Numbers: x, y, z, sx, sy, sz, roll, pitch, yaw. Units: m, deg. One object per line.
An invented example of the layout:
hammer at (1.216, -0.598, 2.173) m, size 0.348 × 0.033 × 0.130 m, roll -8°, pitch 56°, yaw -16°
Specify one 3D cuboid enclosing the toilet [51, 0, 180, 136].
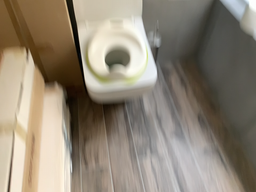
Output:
toilet at (-0.090, -0.270, 1.080) m, size 0.380 × 0.830 × 0.560 m, roll -9°, pitch 54°, yaw -8°
